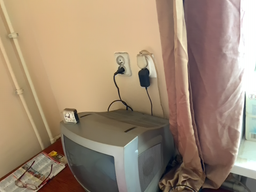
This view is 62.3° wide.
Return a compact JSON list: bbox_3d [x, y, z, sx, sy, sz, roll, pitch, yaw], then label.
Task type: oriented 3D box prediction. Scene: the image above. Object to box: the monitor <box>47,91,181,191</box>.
[{"bbox_3d":[-0.040,0.220,0.890,0.360,0.330,0.360,11,30,40],"label":"monitor"}]
